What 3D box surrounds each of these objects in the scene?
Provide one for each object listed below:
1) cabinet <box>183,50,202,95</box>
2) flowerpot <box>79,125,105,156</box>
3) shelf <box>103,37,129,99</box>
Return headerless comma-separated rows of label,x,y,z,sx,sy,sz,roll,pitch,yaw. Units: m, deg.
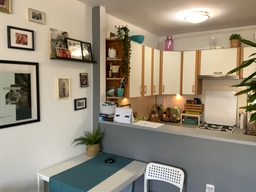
cabinet,1.100,-0.390,3.610,0.230,0.720,0.290,3,5,32
flowerpot,-0.410,0.500,2.420,0.190,0.280,0.220,4,5,34
shelf,-0.150,-0.340,2.670,0.300,0.740,0.110,4,4,31
